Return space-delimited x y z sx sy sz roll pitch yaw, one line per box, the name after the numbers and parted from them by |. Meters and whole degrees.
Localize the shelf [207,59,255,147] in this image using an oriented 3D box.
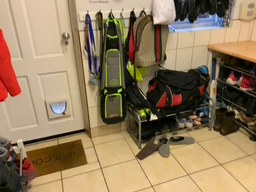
1.350 0.030 2.350 0.440 0.660 0.750 -10 27 -18 | shelf

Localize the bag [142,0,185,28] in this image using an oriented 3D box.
0.310 -0.780 1.870 0.290 0.300 0.230 -12 28 -21 | bag

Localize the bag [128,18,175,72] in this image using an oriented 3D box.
0.210 -0.480 1.960 0.390 0.430 0.150 -11 27 -19 | bag
